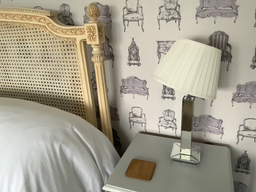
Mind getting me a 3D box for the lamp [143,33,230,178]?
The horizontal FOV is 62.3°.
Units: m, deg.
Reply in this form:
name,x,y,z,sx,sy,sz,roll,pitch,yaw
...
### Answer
name,x,y,z,sx,sy,sz,roll,pitch,yaw
lamp,0.220,0.020,0.830,0.250,0.480,0.250,5,24,19
